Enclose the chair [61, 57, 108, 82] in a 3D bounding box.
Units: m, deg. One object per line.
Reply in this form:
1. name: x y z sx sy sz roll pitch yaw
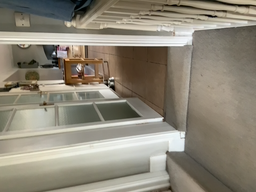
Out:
1. chair: -1.010 -0.630 4.720 1.090 0.860 0.430 -148 57 -67
